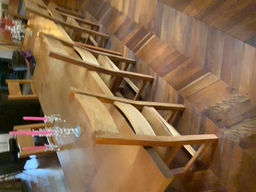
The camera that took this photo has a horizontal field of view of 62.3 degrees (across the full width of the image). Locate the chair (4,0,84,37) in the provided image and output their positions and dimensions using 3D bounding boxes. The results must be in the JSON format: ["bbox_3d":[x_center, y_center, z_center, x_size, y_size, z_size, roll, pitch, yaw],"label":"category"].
[{"bbox_3d":[-1.400,-1.440,3.590,0.500,1.120,0.430,51,124,41],"label":"chair"}]

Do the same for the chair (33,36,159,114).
[{"bbox_3d":[-0.300,-0.160,2.140,0.450,1.060,0.490,51,124,41],"label":"chair"}]
